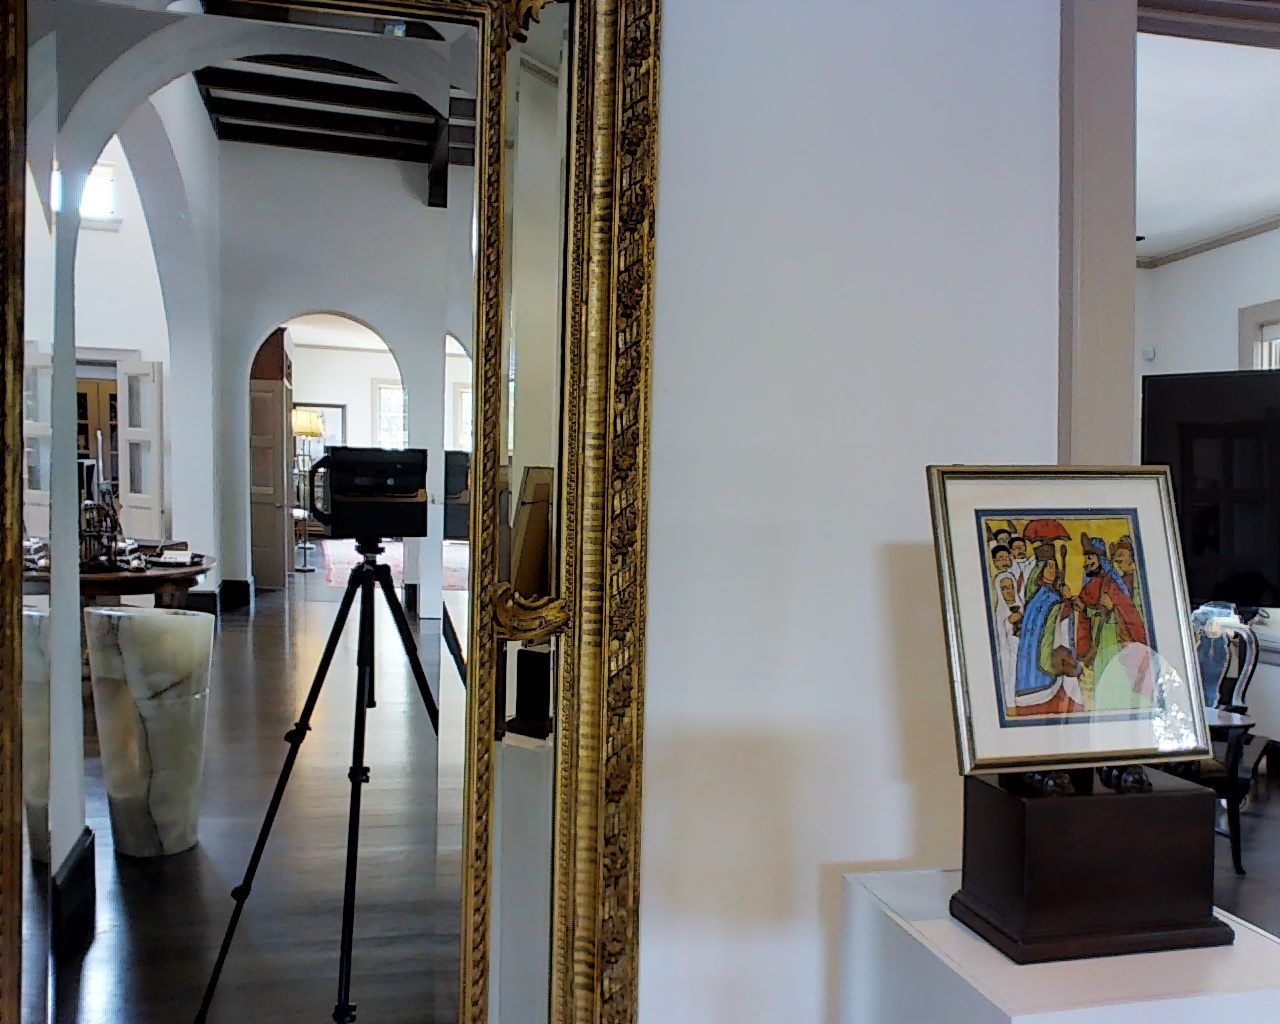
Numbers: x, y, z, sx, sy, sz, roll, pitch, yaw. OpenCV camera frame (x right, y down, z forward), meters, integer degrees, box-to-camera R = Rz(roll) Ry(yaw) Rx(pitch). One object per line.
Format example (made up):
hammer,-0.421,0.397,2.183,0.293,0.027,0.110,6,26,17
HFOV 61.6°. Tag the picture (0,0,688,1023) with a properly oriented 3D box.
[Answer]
picture,-0.430,0.120,1.260,0.950,1.890,0.150,1,0,-12

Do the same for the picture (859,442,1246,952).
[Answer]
picture,0.430,0.180,1.130,0.270,0.450,0.130,-14,3,-12
